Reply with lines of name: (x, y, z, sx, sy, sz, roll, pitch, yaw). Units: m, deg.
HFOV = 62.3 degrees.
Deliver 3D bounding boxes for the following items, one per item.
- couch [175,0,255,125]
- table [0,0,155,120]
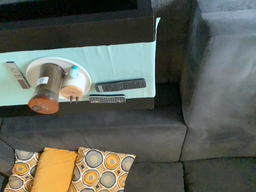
couch: (0.780, -0.210, 1.140, 0.950, 0.410, 0.650, -4, 144, 5)
table: (-0.340, -0.240, 1.070, 0.910, 0.450, 0.580, -4, 144, 4)
